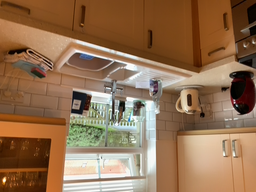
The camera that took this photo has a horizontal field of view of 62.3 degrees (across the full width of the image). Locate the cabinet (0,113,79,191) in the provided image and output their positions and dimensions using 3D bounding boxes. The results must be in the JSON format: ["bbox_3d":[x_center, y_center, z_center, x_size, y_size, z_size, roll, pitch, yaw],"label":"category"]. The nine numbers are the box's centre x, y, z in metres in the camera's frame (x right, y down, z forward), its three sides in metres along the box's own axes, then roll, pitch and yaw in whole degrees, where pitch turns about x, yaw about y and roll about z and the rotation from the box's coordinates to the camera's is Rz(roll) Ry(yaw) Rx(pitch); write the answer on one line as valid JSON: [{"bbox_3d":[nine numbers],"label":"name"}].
[{"bbox_3d":[-0.870,0.500,1.180,1.070,0.800,0.300,8,165,-30],"label":"cabinet"}]

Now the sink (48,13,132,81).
[{"bbox_3d":[-0.300,-0.310,1.560,0.430,0.210,0.540,8,165,-30],"label":"sink"}]
